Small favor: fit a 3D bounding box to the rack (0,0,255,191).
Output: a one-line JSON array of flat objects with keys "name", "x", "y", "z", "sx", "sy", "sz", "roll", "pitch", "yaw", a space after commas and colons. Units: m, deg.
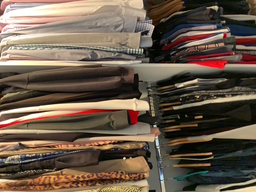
[{"name": "rack", "x": 0.070, "y": -0.470, "z": 1.380, "sx": 0.520, "sy": 2.020, "sz": 2.220, "roll": 136, "pitch": 130, "yaw": -69}]
